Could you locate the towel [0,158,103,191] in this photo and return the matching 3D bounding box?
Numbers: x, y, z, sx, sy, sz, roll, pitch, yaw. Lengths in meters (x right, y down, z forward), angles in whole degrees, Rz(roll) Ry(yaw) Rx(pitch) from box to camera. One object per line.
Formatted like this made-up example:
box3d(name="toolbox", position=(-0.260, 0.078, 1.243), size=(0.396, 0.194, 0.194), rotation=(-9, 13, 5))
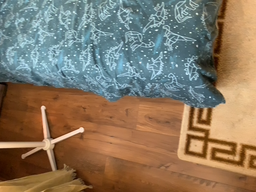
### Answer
box3d(name="towel", position=(-0.570, 0.510, 1.100), size=(0.570, 0.720, 0.150), rotation=(9, 85, 26))
